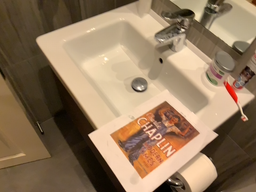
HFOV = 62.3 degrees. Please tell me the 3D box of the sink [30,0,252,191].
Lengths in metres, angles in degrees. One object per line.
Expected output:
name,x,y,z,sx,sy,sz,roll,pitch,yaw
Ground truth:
sink,0.020,-0.070,0.790,0.480,0.140,0.640,-29,63,-23
